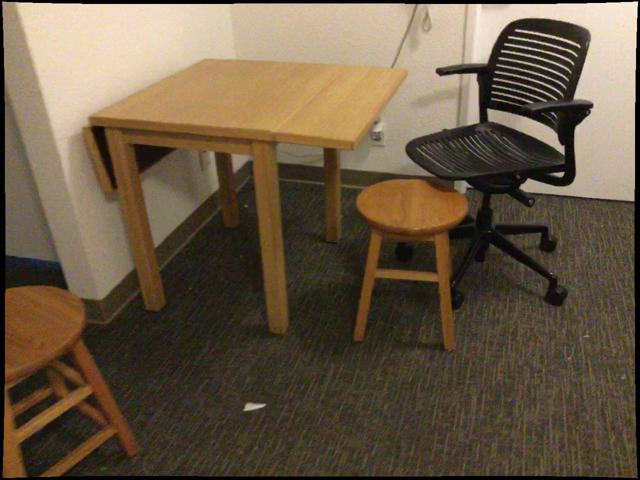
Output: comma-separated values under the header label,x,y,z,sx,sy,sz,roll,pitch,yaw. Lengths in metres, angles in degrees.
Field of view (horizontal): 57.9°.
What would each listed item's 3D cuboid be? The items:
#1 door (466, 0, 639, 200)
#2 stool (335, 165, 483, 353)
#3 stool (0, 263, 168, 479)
label,x,y,z,sx,sy,sz,roll,pitch,yaw
door,1.119,-0.911,2.330,0.909,1.561,0.120,7,34,17
stool,0.310,0.050,1.960,0.400,0.450,0.390,7,34,17
stool,-0.769,0.390,1.490,0.510,0.470,0.420,7,34,17
